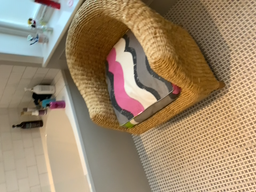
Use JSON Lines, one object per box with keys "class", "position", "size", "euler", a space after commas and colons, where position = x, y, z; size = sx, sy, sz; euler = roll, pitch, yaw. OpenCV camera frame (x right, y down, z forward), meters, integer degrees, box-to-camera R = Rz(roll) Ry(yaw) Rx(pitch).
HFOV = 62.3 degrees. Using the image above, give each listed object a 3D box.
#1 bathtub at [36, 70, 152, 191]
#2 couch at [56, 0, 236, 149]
{"class": "bathtub", "position": [-0.330, 0.790, 2.090], "size": [0.800, 0.580, 1.910], "euler": [-38, 63, 41]}
{"class": "couch", "position": [0.070, -0.180, 1.510], "size": [0.780, 0.750, 0.760], "euler": [-40, 62, 40]}
